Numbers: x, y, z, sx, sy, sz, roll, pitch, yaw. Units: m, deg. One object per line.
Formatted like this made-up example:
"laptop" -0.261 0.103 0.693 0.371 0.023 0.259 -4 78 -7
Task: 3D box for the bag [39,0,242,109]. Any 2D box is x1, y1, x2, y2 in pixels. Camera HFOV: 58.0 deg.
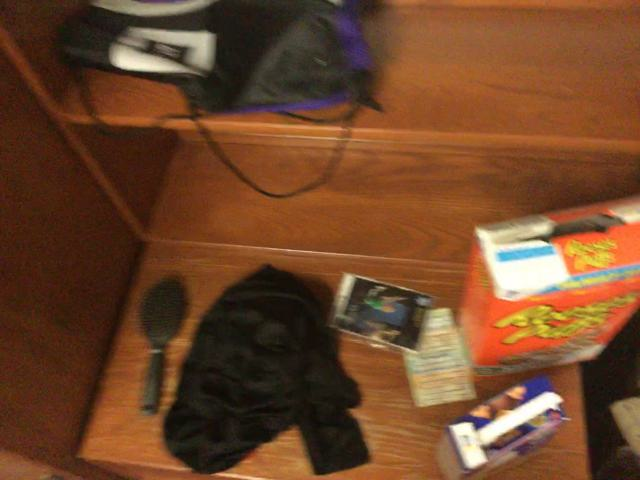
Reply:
"bag" -0.240 -0.260 0.780 0.240 0.050 0.110 18 60 17

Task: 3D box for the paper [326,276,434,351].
"paper" 0.100 0.120 0.960 0.160 0.020 0.090 12 58 13

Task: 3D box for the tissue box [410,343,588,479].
"tissue box" 0.220 0.250 0.760 0.170 0.210 0.090 -22 57 -9

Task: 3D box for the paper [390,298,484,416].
"paper" 0.180 0.180 0.910 0.100 0.020 0.170 -11 56 -2
